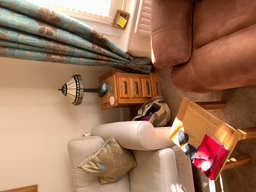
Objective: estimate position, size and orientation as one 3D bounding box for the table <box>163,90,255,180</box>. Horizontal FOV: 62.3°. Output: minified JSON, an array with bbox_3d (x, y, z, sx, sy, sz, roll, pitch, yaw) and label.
[{"bbox_3d":[0.620,0.250,1.570,0.480,0.410,0.390,48,128,46],"label":"table"}]

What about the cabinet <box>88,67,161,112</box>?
[{"bbox_3d":[-0.070,-0.050,2.520,0.680,0.550,0.350,-22,71,55],"label":"cabinet"}]

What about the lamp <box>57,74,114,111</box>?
[{"bbox_3d":[-0.490,-0.020,2.350,0.560,0.430,0.250,-26,68,54],"label":"lamp"}]
